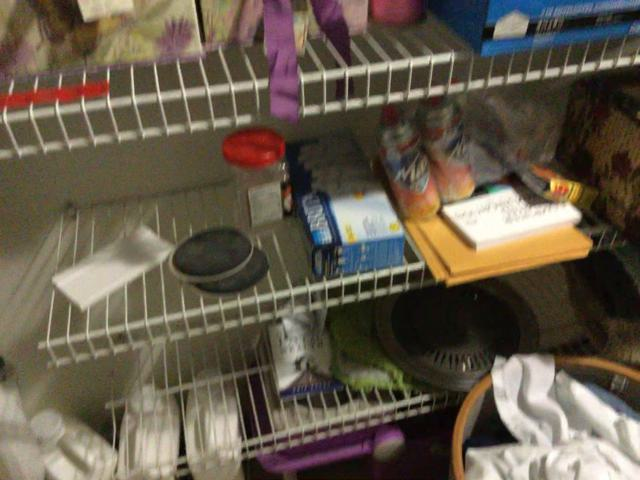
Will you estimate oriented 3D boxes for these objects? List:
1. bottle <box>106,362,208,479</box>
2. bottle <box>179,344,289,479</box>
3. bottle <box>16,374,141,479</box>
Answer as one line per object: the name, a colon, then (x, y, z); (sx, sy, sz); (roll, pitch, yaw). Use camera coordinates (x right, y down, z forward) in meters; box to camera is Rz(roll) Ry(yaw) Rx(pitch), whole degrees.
bottle: (-0.350, 0.450, 1.270); (0.160, 0.270, 0.200); (-11, 39, -11)
bottle: (-0.190, 0.430, 1.310); (0.190, 0.290, 0.210); (-11, 39, -11)
bottle: (-0.500, 0.470, 1.240); (0.170, 0.270, 0.200); (-11, 39, -11)
